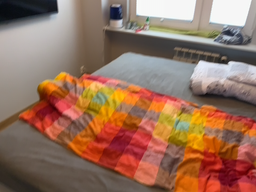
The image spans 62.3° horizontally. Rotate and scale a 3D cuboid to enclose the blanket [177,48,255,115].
[{"bbox_3d":[0.920,-0.110,1.620,0.920,0.210,0.560,17,34,23],"label":"blanket"}]
